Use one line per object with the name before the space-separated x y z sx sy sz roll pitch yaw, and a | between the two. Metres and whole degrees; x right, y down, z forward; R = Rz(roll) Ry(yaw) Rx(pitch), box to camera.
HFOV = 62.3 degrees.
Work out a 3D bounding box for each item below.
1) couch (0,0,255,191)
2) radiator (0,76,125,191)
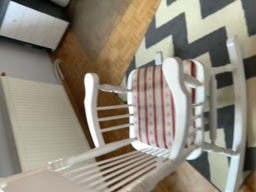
couch | 0.070 0.060 1.000 0.670 1.140 0.950 -5 81 42
radiator | -0.590 0.380 1.770 0.130 0.770 1.330 -50 54 26
